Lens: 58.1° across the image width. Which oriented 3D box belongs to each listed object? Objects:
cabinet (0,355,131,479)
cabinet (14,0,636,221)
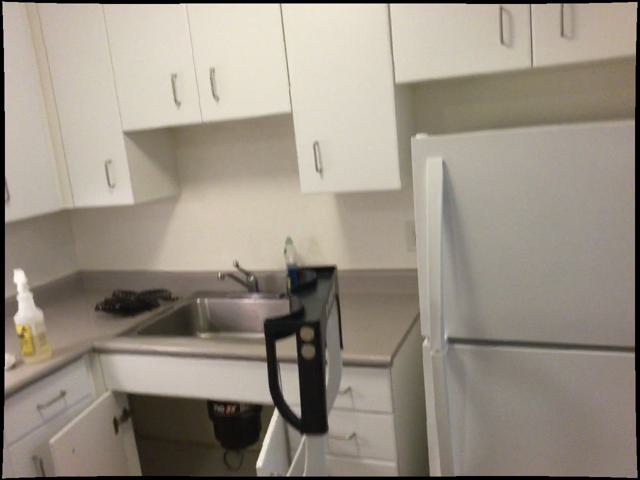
[{"bbox_3d":[-0.858,0.902,1.940,0.160,0.892,0.460,-1,13,22],"label":"cabinet"},{"bbox_3d":[-0.080,-0.561,2.070,2.095,0.872,0.400,-1,13,22],"label":"cabinet"}]
